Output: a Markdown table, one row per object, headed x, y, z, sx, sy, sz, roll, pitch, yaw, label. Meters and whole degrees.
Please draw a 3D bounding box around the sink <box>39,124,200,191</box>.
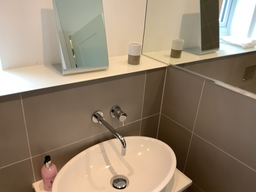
| x | y | z | sx | sy | sz | roll | pitch | yaw | label |
| --- | --- | --- | --- | --- | --- | --- | --- | --- | --- |
| -0.030 | 0.340 | 0.950 | 0.590 | 0.100 | 0.390 | -15 | 31 | -35 | sink |
